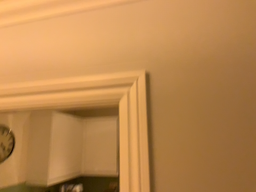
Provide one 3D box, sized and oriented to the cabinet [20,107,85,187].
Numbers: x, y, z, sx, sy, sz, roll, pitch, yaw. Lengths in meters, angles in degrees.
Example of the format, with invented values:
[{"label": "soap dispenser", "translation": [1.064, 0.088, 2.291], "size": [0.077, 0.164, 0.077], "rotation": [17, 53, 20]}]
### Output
[{"label": "cabinet", "translation": [-1.140, 0.790, 3.410], "size": [0.450, 1.070, 0.960], "rotation": [-4, -13, 15]}]
